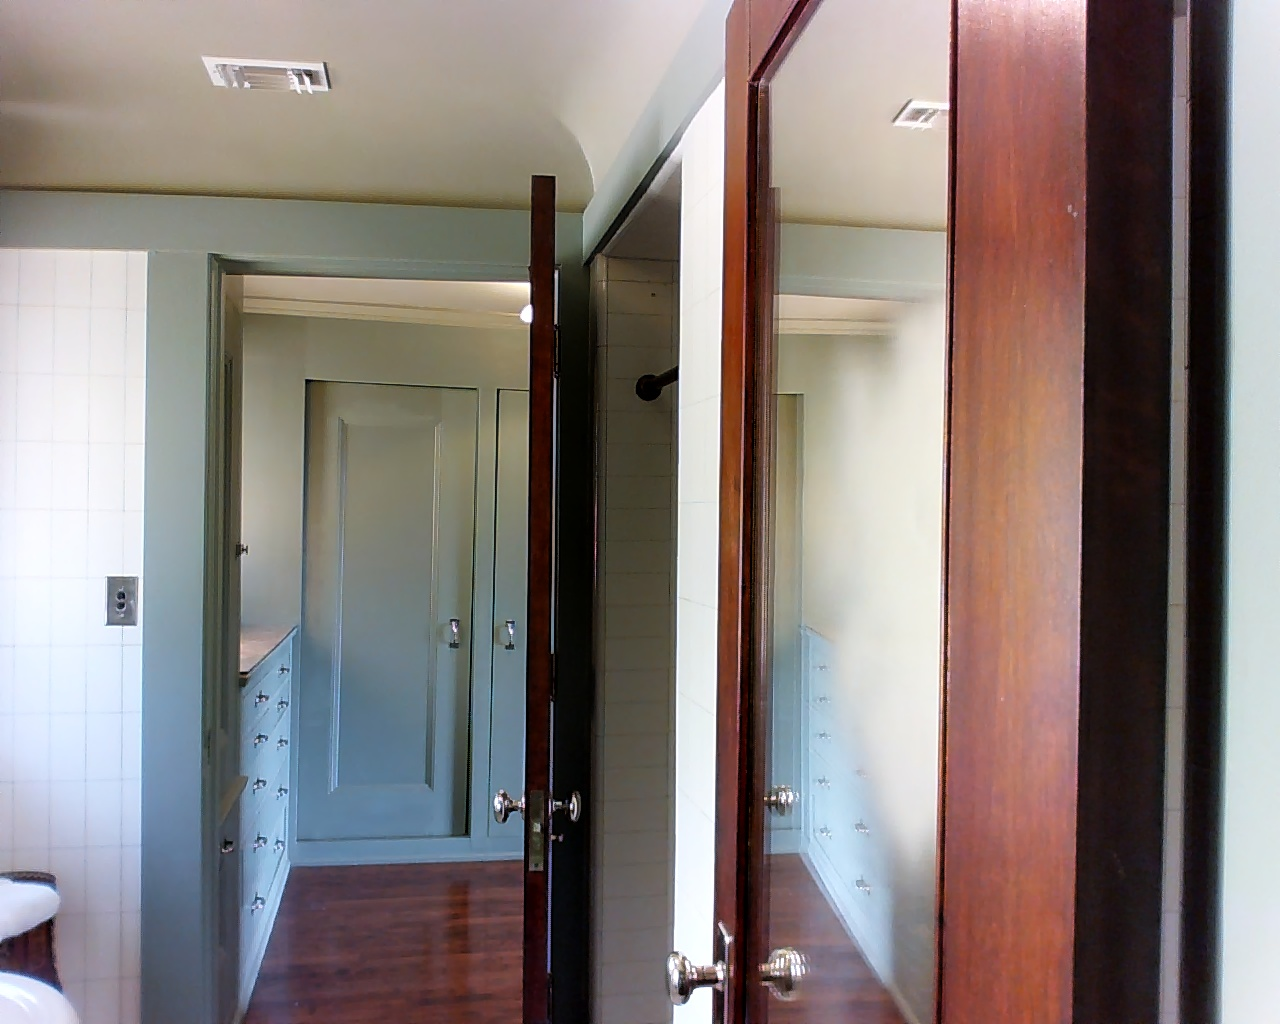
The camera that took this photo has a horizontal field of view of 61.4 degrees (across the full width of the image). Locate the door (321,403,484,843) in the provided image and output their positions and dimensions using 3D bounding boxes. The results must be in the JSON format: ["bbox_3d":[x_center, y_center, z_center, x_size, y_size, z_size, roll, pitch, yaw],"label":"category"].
[{"bbox_3d":[-1.070,0.490,4.880,0.700,1.940,0.100,0,-1,-13],"label":"door"}]

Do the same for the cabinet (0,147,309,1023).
[{"bbox_3d":[-1.540,0.340,3.690,0.600,2.430,2.120,0,-1,-13],"label":"cabinet"}]
